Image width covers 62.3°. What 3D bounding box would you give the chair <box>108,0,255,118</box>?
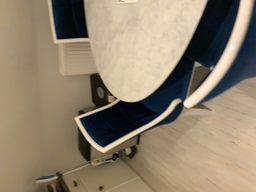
[{"bbox_3d":[0.480,-0.350,0.950,0.590,0.910,0.470,44,132,42],"label":"chair"}]

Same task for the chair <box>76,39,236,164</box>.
[{"bbox_3d":[0.180,-0.050,1.450,0.460,0.930,0.570,37,128,46],"label":"chair"}]
